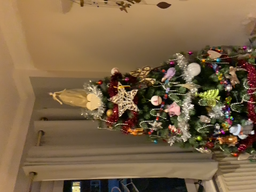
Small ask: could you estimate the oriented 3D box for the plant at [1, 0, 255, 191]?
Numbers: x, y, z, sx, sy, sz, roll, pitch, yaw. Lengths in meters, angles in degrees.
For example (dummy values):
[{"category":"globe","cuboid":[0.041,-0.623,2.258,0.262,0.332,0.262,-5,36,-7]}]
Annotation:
[{"category":"plant","cuboid":[0.410,-0.050,1.540,0.920,1.910,1.010,99,168,-45]}]
